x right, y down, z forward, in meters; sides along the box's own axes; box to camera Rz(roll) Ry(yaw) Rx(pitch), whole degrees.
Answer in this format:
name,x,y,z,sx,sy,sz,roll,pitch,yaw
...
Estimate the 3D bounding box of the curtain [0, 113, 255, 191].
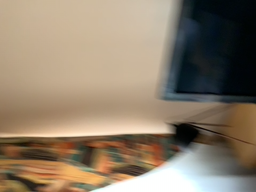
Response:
name,x,y,z,sx,sy,sz,roll,pitch,yaw
curtain,-0.240,0.560,1.150,1.160,1.900,0.170,-94,6,-52
